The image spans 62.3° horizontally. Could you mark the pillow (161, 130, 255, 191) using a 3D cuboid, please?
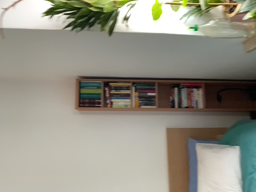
[{"bbox_3d":[0.740,0.730,1.850,0.630,0.600,0.250,-31,-9,-8],"label":"pillow"}]
